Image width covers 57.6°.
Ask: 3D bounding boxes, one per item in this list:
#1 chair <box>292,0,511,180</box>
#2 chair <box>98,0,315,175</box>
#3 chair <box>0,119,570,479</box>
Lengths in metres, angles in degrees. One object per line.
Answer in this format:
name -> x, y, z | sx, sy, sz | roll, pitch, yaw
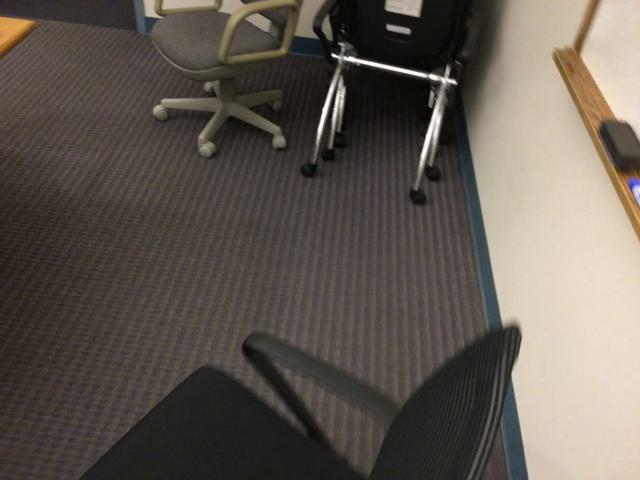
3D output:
chair -> 0.310, -0.960, 2.360 | 0.630, 0.910, 1.070 | 9, 39, 0
chair -> -0.410, -0.800, 2.360 | 0.690, 0.760, 0.620 | 9, 39, 0
chair -> -0.130, 0.310, 0.770 | 0.630, 0.620, 0.630 | 9, 39, 0
